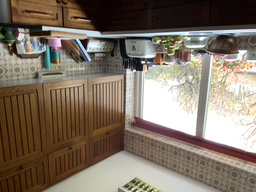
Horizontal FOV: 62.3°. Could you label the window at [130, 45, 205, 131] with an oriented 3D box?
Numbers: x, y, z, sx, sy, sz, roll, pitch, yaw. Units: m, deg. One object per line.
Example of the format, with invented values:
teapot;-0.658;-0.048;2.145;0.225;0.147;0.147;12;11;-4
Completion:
window;0.430;-0.120;2.600;0.870;0.960;0.070;9;-165;28
